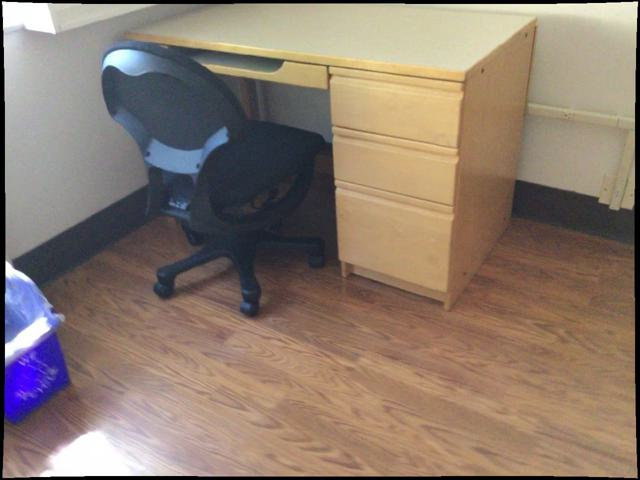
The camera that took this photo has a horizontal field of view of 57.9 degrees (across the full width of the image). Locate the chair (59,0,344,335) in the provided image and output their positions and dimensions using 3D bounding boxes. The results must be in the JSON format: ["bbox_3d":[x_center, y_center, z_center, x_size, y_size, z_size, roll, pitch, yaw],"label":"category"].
[{"bbox_3d":[-0.300,-0.260,1.840,0.520,0.821,0.570,17,39,27],"label":"chair"}]
